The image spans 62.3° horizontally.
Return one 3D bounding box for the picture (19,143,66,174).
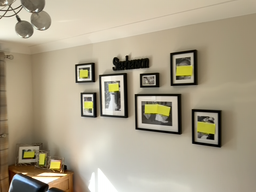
[{"bbox_3d":[-1.060,0.750,2.600,0.560,0.200,0.280,1,3,37],"label":"picture"}]
